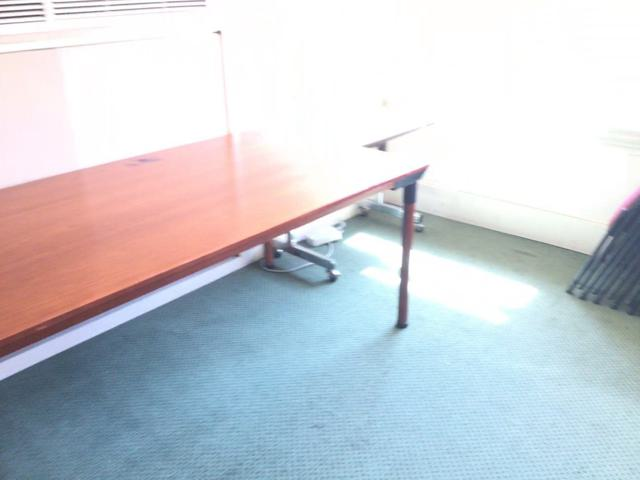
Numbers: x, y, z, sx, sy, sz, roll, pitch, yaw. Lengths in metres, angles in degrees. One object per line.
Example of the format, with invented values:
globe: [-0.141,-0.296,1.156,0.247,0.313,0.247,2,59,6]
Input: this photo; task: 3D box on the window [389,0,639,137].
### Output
window: [1.010,-1.100,2.770,1.420,1.110,0.300,12,26,39]
